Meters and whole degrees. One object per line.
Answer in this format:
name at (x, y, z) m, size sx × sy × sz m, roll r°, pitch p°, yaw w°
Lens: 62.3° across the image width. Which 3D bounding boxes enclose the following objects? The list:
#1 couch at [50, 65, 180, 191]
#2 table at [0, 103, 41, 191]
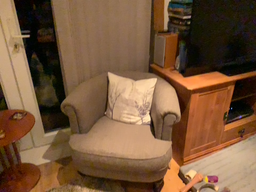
couch at (-0.020, 0.240, 1.700) m, size 0.740 × 0.720 × 0.740 m, roll 7°, pitch 29°, yaw 15°
table at (-0.920, 0.400, 1.580) m, size 0.390 × 0.500 × 0.390 m, roll -13°, pitch 30°, yaw -21°
